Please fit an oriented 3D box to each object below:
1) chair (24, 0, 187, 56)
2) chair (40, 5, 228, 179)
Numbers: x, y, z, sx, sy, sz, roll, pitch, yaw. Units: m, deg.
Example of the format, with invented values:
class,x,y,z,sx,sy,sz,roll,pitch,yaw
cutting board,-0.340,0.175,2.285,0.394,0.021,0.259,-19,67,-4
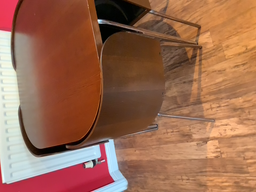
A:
class,x,y,z,sx,sy,sz,roll,pitch,yaw
chair,-0.100,-0.530,1.220,0.440,0.760,0.390,36,117,37
chair,0.050,-0.030,1.100,0.390,0.760,0.560,41,120,35
